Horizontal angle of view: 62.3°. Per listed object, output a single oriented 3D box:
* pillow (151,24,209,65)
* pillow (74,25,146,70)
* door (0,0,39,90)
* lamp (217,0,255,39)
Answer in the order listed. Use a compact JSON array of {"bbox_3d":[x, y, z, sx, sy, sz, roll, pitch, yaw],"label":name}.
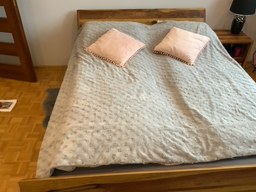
[{"bbox_3d":[0.550,-0.560,2.210,0.410,0.170,0.530,20,40,23],"label":"pillow"},{"bbox_3d":[-0.160,-0.500,2.080,0.510,0.180,0.480,18,39,20],"label":"pillow"},{"bbox_3d":[-1.660,-1.030,2.350,0.930,2.110,0.100,9,37,10],"label":"door"},{"bbox_3d":[1.450,-1.020,2.770,0.340,0.440,0.300,-2,36,-6],"label":"lamp"}]
